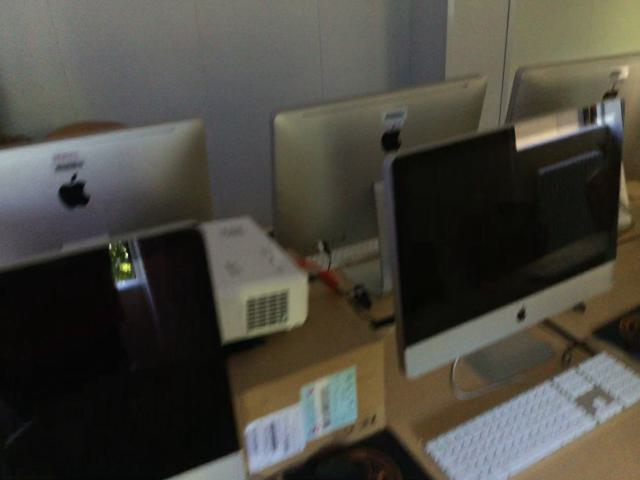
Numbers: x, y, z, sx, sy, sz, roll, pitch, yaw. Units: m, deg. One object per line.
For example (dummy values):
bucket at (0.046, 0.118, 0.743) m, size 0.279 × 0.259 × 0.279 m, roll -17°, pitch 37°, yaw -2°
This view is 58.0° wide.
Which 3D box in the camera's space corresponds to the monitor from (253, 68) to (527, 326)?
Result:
monitor at (0.160, -0.110, 1.290) m, size 0.540 × 0.440 × 0.180 m, roll -14°, pitch 29°, yaw -19°

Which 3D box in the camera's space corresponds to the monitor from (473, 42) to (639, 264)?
monitor at (0.680, -0.230, 1.450) m, size 0.540 × 0.450 × 0.170 m, roll -12°, pitch 29°, yaw -16°
